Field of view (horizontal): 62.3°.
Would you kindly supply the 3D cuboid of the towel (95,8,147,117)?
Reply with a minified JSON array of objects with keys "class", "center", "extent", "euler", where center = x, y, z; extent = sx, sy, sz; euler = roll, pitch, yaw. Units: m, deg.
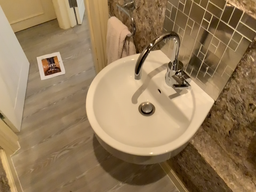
[{"class":"towel","center":[-0.040,-0.140,1.150],"extent":[0.130,0.570,0.230],"euler":[-26,59,-18]}]
